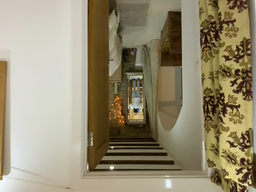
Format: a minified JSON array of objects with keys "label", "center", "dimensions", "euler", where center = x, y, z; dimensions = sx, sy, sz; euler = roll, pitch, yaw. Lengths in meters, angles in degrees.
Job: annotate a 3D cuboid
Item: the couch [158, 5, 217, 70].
[{"label":"couch","center":[0.980,-0.960,3.810],"dimensions":[0.730,0.780,1.200],"euler":[-1,177,2]}]
